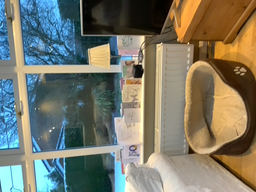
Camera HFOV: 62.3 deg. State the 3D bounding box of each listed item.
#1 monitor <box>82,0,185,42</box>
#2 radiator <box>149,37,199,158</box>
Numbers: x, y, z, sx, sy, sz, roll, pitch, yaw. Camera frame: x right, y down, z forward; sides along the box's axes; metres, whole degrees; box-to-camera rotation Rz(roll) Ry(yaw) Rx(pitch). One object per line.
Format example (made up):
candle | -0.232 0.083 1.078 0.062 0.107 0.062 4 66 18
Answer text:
monitor | 0.080 -0.760 1.240 1.100 0.680 0.070 109 156 -56
radiator | 0.400 0.020 1.910 0.160 0.350 1.040 -140 50 -73
